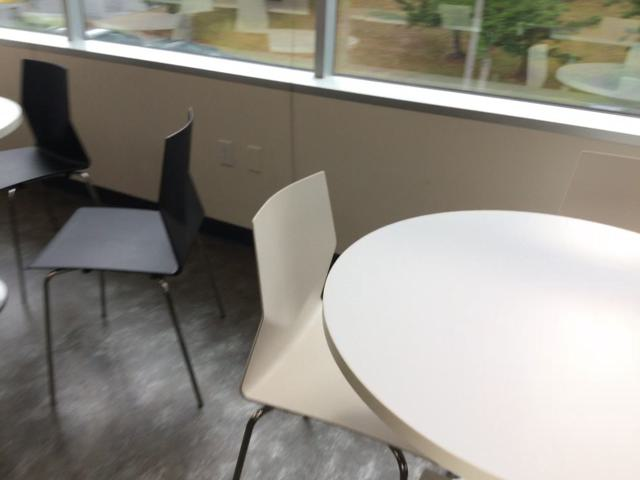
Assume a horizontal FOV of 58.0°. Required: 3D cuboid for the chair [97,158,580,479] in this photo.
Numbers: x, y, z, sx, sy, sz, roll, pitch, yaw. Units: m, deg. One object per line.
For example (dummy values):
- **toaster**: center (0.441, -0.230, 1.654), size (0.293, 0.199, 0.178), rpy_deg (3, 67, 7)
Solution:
- **chair**: center (0.080, 0.200, 1.160), size (0.620, 0.440, 0.710), rpy_deg (18, 30, 26)
